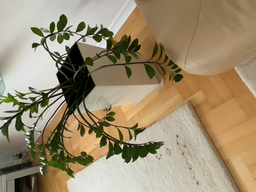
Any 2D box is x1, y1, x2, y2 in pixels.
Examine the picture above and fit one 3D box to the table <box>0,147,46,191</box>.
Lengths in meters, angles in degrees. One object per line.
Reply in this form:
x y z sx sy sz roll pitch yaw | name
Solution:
-1.480 1.230 2.880 0.550 0.490 0.830 11 100 44 | table
